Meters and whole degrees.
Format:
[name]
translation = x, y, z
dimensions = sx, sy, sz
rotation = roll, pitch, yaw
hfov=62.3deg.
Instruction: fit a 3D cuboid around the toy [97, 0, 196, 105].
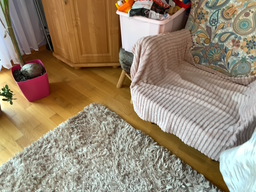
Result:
[toy]
translation = 0.160, -0.520, 1.790
dimensions = 0.420, 0.910, 0.680
rotation = 32, 52, 28
